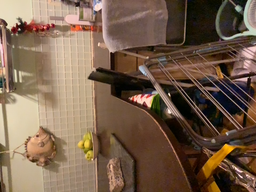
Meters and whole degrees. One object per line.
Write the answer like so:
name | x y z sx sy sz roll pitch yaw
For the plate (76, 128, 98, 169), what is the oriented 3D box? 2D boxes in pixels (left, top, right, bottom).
plate | -0.330 0.410 1.700 0.210 0.140 0.250 -158 66 -70
